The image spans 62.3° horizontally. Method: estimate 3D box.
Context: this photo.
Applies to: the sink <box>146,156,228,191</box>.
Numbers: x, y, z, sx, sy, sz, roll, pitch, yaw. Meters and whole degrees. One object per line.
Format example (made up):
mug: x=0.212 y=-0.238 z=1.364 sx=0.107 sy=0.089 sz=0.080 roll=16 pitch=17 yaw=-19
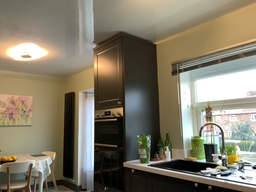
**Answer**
sink: x=0.550 y=0.730 z=2.020 sx=0.500 sy=0.190 sz=0.570 roll=5 pitch=-9 yaw=-41
